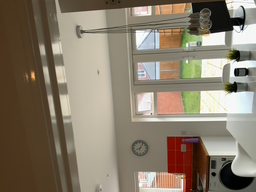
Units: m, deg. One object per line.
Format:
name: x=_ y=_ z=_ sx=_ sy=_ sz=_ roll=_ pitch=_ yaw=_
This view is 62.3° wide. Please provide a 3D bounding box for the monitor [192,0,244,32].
monitor: x=0.910 y=-0.830 z=2.190 sx=0.040 sy=0.420 sz=0.460 roll=79 pitch=-169 yaw=-52
